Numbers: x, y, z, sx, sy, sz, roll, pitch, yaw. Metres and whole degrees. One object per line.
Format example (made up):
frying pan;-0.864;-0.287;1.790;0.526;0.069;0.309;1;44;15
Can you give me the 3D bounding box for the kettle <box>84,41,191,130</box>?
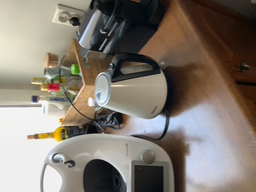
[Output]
kettle;0.020;-0.020;0.670;0.200;0.230;0.180;-39;58;46
